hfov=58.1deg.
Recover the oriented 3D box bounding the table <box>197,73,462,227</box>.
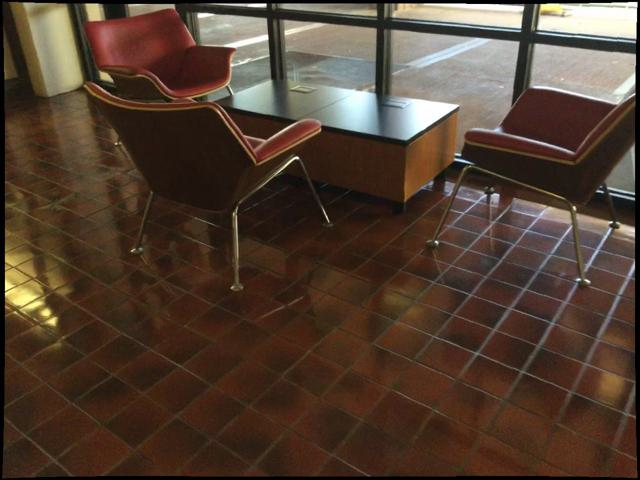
[{"bbox_3d":[0.040,-0.582,3.310,1.298,0.431,0.720,19,37,32],"label":"table"}]
